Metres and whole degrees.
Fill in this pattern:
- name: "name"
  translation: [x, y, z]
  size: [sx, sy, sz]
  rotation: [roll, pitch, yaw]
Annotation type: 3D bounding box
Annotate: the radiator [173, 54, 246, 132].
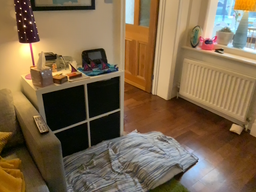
- name: "radiator"
  translation: [0.980, -0.070, 2.730]
  size: [0.140, 0.760, 0.820]
  rotation: [-16, 31, -33]
